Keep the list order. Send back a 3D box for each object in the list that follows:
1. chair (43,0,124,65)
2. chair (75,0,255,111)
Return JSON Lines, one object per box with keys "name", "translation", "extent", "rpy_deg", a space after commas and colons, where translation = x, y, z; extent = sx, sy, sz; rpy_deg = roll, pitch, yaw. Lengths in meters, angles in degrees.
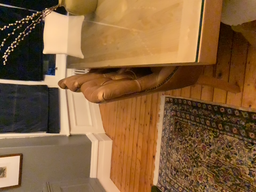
{"name": "chair", "translation": [-0.650, -0.880, 3.030], "extent": [0.680, 0.990, 0.630], "rpy_deg": [-10, 78, 63]}
{"name": "chair", "translation": [0.200, -0.260, 1.360], "extent": [0.600, 0.910, 0.620], "rpy_deg": [11, 98, 63]}
